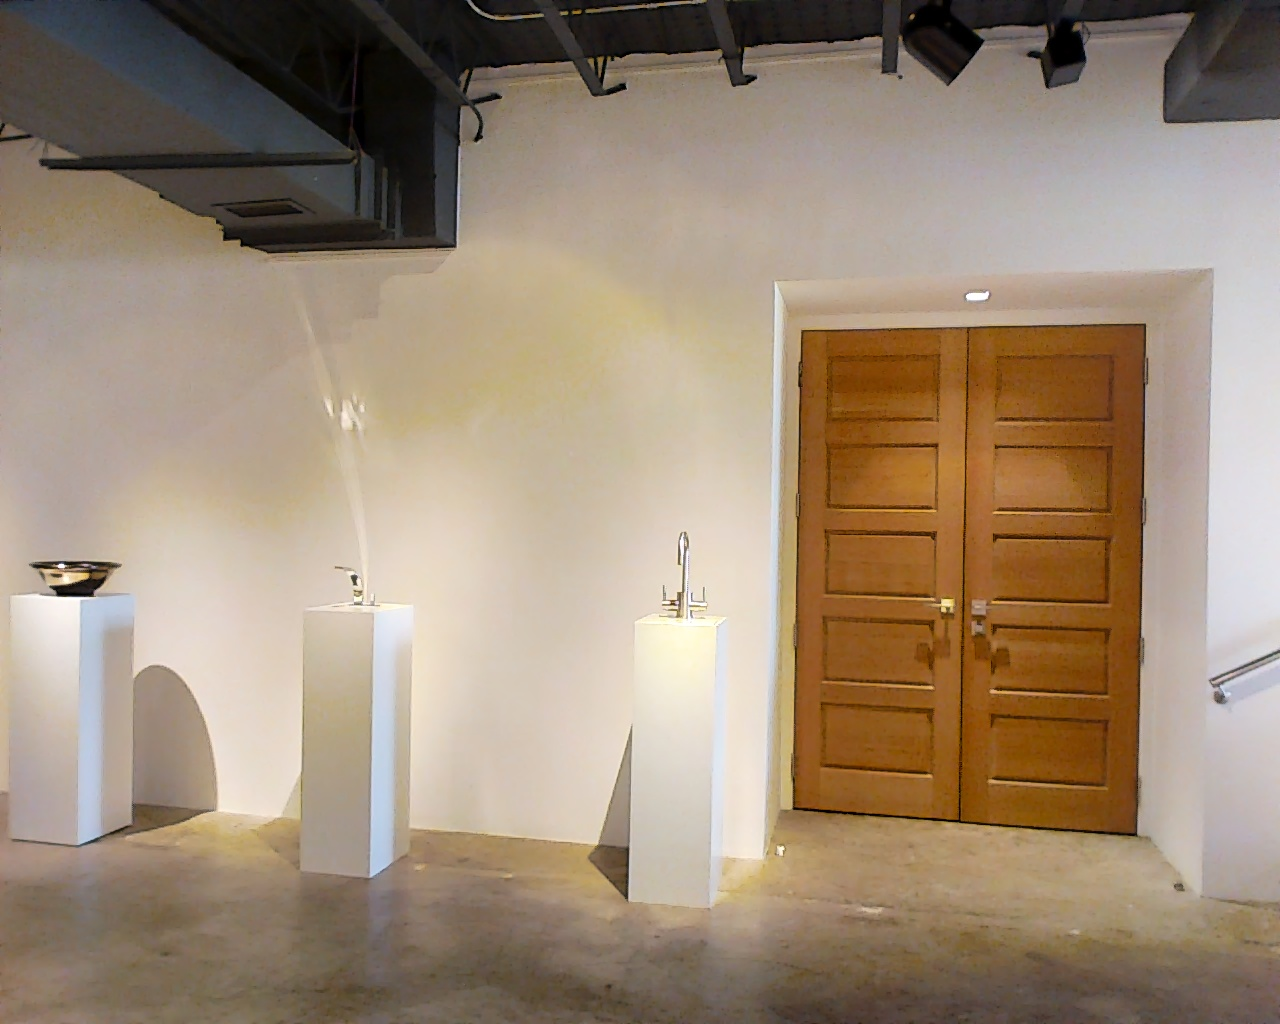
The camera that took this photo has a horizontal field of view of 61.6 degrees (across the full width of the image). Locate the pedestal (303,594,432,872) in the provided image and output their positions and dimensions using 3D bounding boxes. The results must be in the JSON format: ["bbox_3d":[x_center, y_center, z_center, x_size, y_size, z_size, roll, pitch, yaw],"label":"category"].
[{"bbox_3d":[-1.150,0.910,4.570,0.360,1.080,0.420,1,0,13],"label":"pedestal"}]
